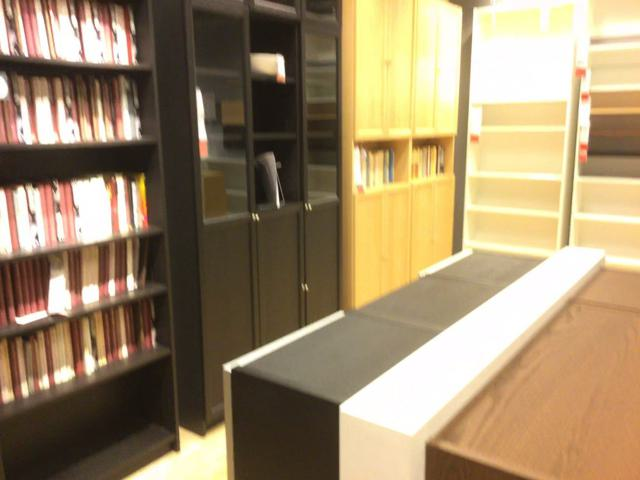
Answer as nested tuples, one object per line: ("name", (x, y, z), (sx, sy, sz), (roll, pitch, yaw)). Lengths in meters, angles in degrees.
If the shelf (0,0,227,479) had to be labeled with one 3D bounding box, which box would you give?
("shelf", (-0.990, 0.020, 2.270), (0.590, 1.990, 0.890), (2, 11, 38))
